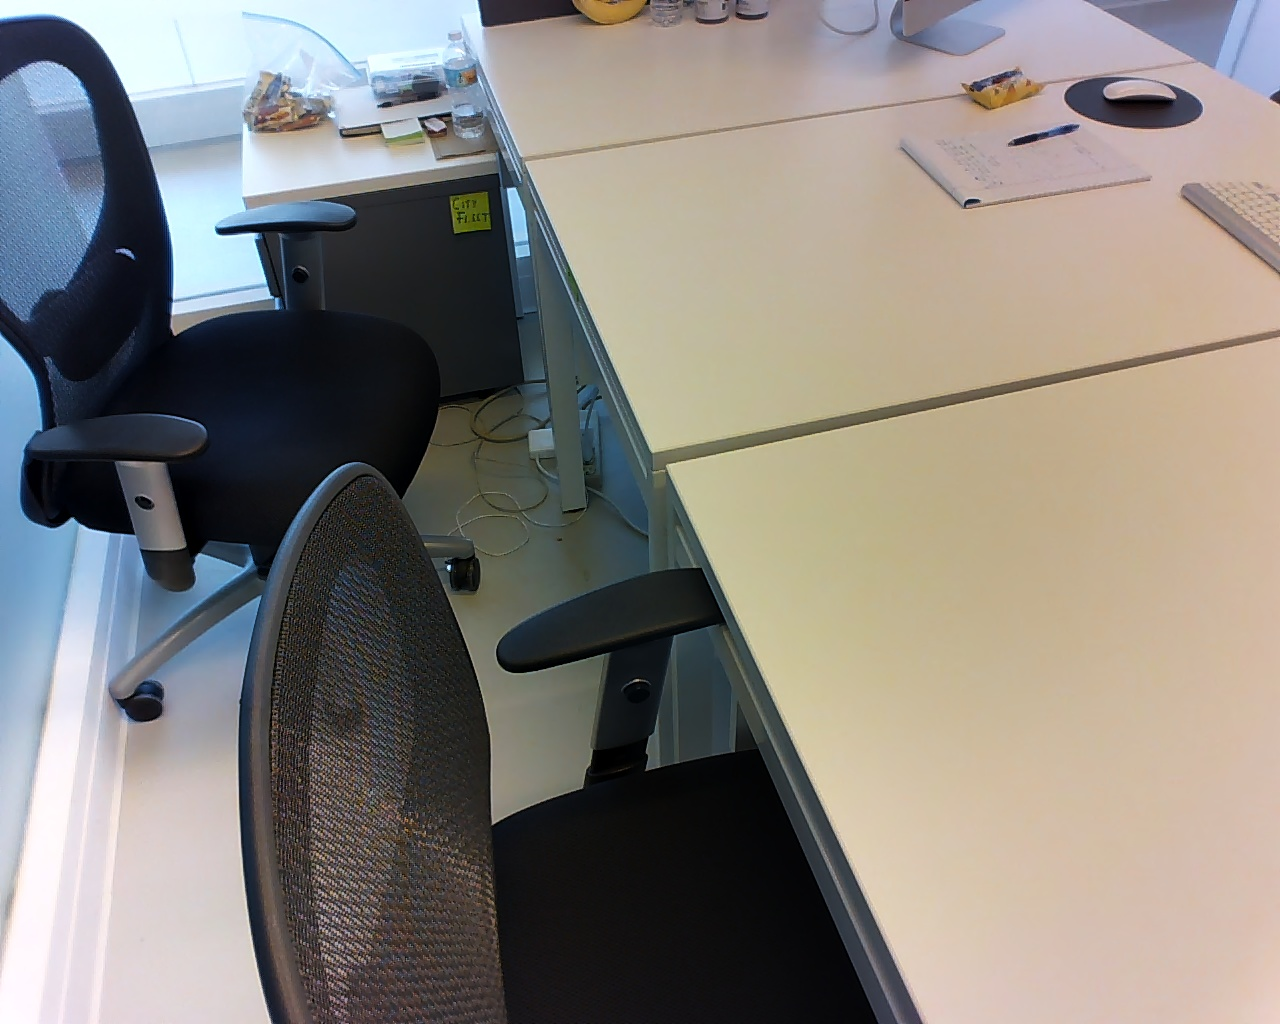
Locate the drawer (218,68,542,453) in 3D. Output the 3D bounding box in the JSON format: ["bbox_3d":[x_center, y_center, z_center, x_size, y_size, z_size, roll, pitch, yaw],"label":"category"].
[{"bbox_3d":[-0.560,-0.560,2.370,0.540,0.590,0.490,-12,43,-10],"label":"drawer"}]

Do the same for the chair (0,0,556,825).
[{"bbox_3d":[-0.590,-0.210,1.690,0.660,1.060,0.770,-13,43,-10],"label":"chair"}]

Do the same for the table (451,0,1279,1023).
[{"bbox_3d":[0.530,-0.180,1.750,1.250,0.770,2.380,-12,43,-10],"label":"table"}]
